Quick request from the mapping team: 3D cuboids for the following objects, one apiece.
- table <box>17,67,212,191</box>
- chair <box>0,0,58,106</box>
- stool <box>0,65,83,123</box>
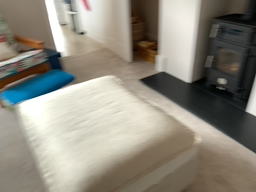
[{"bbox_3d":[-0.160,0.280,1.290,0.710,0.460,0.960,-19,35,-26],"label":"table"},{"bbox_3d":[-1.380,-0.540,2.310,0.900,0.880,0.620,21,38,33],"label":"chair"},{"bbox_3d":[-0.830,-0.060,2.120,0.390,0.230,0.650,16,35,27],"label":"stool"}]
